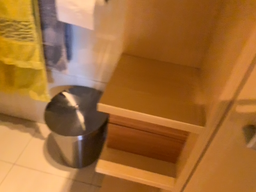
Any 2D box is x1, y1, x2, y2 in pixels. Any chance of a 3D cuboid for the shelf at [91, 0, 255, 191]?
[{"bbox_3d":[0.050,0.050,0.610,0.200,0.780,0.380,12,41,3],"label":"shelf"}]
